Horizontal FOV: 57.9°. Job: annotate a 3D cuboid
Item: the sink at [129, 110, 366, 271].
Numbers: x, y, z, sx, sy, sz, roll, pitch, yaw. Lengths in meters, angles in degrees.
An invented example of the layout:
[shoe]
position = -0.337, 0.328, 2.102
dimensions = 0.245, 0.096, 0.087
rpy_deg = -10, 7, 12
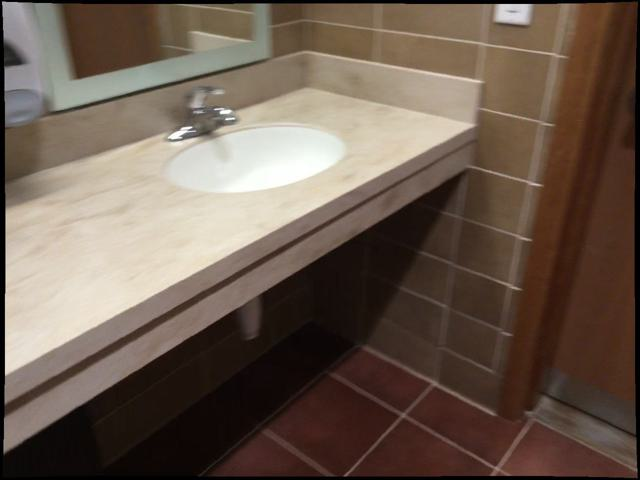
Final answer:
[sink]
position = -0.150, -0.140, 1.330
dimensions = 0.310, 0.160, 0.430
rpy_deg = 22, 37, 35
